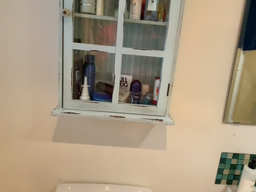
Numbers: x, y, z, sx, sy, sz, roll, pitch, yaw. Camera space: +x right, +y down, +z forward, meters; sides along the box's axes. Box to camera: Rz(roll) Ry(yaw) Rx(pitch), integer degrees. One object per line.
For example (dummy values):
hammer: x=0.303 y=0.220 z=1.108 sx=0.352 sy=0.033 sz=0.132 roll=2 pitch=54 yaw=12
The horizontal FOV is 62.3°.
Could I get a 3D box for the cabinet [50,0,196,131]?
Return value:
cabinet: x=-0.020 y=-0.230 z=0.670 sx=0.400 sy=0.640 sz=0.150 roll=5 pitch=14 yaw=-3
